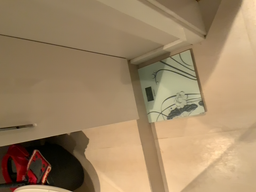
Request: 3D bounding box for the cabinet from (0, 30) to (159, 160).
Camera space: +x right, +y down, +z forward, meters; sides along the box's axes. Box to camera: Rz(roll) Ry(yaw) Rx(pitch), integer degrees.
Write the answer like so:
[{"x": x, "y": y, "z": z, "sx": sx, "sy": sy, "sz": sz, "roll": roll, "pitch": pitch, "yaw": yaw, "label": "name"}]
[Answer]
[{"x": -0.690, "y": 0.050, "z": 0.430, "sx": 0.490, "sy": 2.100, "sz": 0.330, "roll": -16, "pitch": 82, "yaw": 36, "label": "cabinet"}]
